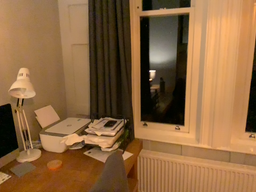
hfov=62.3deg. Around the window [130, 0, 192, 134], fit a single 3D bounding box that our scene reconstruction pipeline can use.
[{"bbox_3d":[0.300,-0.740,1.950,0.540,2.220,0.120,4,14,17],"label":"window"}]
